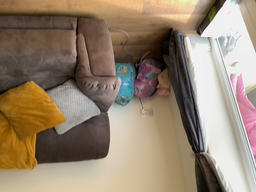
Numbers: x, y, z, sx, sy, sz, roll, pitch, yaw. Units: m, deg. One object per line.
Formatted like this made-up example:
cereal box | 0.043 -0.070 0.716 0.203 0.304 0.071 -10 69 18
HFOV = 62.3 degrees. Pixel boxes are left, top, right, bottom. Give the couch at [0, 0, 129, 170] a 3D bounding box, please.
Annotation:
couch | -0.950 0.020 1.660 1.740 0.970 1.080 -4 158 -6
